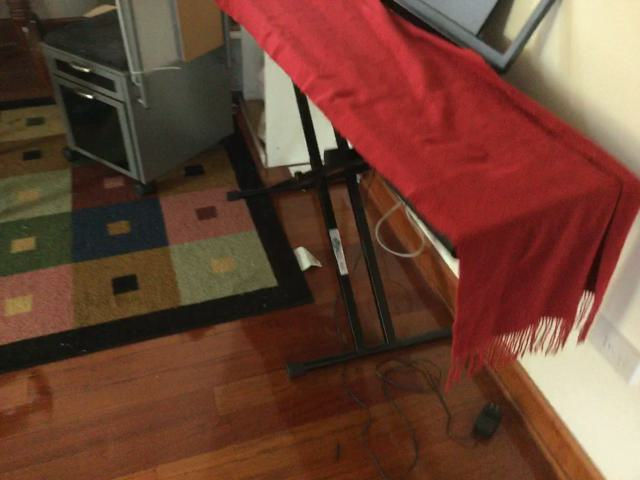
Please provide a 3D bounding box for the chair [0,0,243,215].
[{"bbox_3d":[-0.630,-0.610,1.890,0.510,0.760,0.530,28,49,21],"label":"chair"}]

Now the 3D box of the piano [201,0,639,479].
[{"bbox_3d":[0.110,-0.250,1.370,0.460,0.910,1.310,-14,48,-18],"label":"piano"}]
